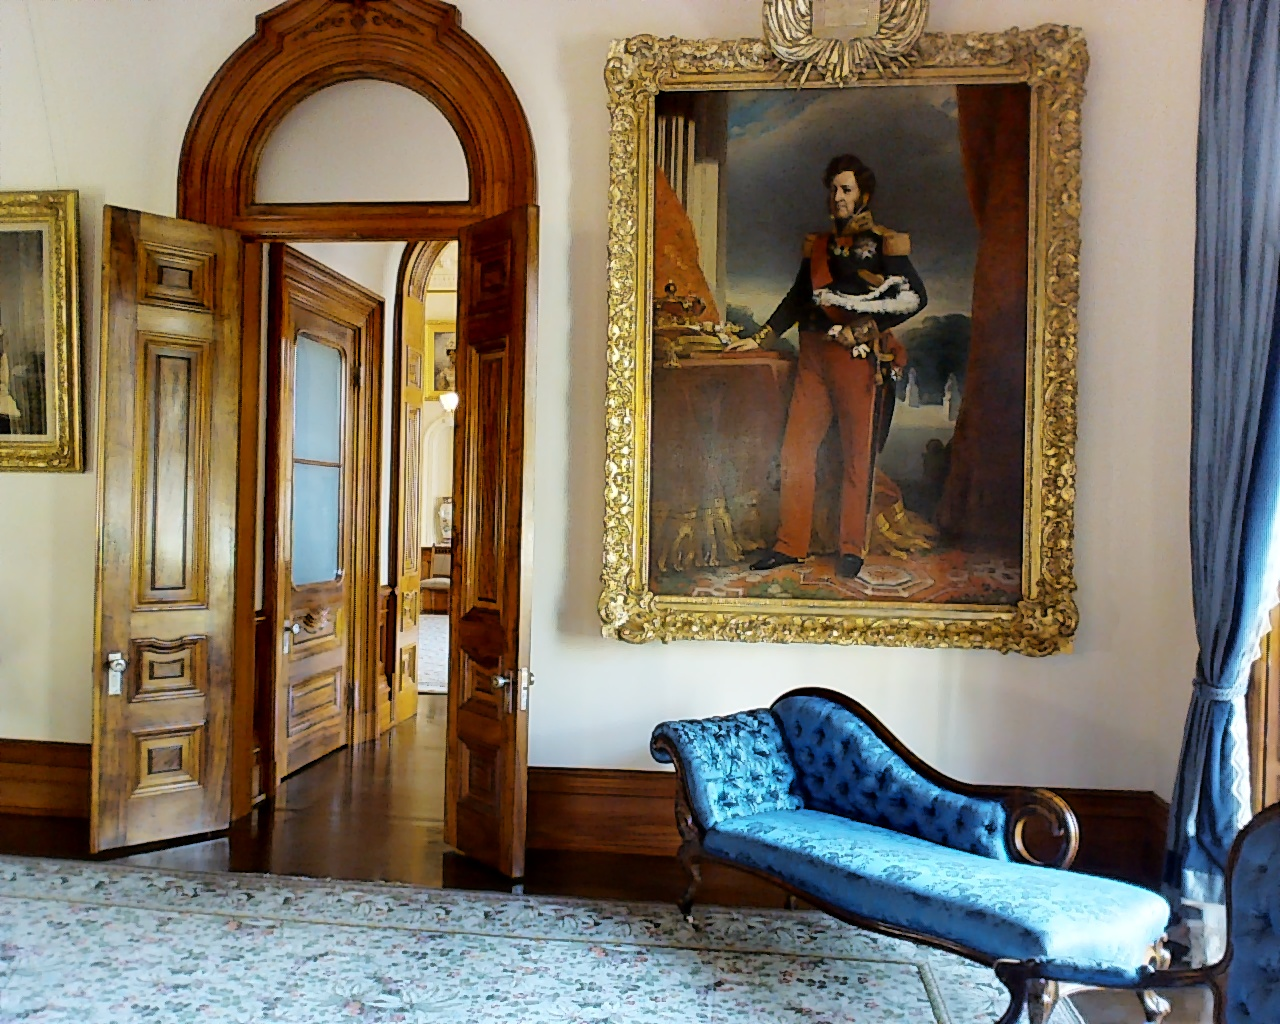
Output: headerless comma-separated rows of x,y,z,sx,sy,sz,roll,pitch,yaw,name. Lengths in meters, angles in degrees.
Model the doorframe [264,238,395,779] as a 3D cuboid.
-1.870,-0.020,6.630,0.160,2.960,1.470,1,0,7,doorframe
